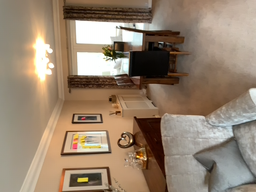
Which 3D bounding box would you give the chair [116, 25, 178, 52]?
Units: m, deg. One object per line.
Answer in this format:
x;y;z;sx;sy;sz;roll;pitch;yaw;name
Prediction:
0.320;-1.060;3.920;0.440;1.040;0.430;-122;33;-70;chair

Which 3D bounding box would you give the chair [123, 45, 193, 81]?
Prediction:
0.450;-0.540;3.460;0.470;0.990;0.480;-117;28;-67;chair

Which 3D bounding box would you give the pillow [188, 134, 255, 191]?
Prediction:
0.780;0.600;1.730;0.210;0.460;0.430;-24;81;50;pillow
